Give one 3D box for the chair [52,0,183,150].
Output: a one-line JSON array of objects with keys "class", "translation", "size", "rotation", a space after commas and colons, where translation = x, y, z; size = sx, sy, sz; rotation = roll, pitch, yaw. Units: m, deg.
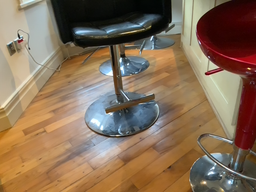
[{"class": "chair", "translation": [-0.100, -0.310, 1.370], "size": [0.550, 0.930, 0.710], "rotation": [-16, 33, -17]}]
